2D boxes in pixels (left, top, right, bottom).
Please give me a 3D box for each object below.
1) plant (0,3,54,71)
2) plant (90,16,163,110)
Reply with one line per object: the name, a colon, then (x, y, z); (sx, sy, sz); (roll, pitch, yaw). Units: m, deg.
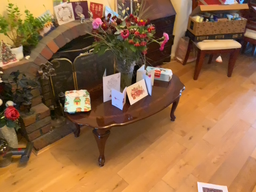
plant: (-0.840, -0.480, 1.670); (0.300, 0.400, 0.330); (29, 42, 35)
plant: (-0.020, -0.270, 1.650); (0.350, 0.570, 0.370); (-27, 43, -37)
